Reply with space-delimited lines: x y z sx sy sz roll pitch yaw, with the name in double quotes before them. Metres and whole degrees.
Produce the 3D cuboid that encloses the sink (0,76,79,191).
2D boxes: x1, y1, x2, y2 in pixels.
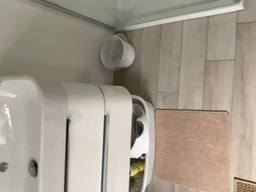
"sink" -0.430 0.310 0.870 0.500 0.130 0.770 4 91 38
